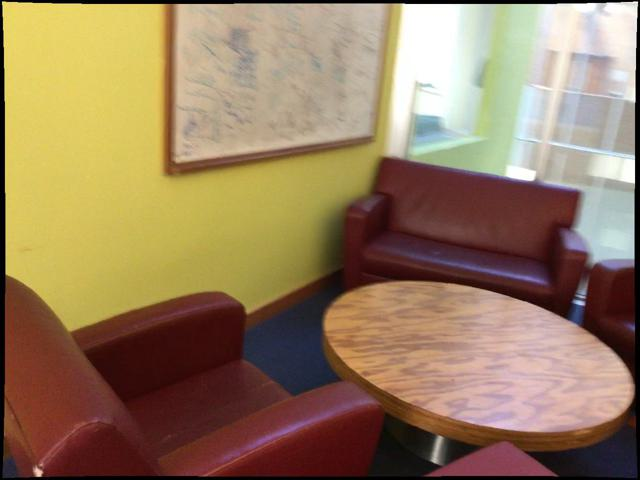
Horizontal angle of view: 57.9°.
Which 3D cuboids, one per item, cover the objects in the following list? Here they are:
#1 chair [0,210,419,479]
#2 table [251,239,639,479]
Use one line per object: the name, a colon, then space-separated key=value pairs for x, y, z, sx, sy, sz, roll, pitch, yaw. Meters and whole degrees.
chair: x=-0.420 y=0.501 z=1.620 sx=0.889 sy=0.821 sz=0.860 roll=-10 pitch=29 yaw=-36
table: x=0.579 y=0.541 z=2.420 sx=1.199 sy=0.420 sz=1.210 roll=22 pitch=26 yaw=28
